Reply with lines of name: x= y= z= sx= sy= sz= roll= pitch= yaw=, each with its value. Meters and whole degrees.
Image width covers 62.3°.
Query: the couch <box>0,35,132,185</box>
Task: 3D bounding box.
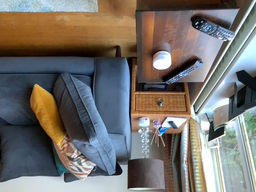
couch: x=-1.530 y=0.180 z=1.780 sx=3.090 sy=0.880 sz=1.020 roll=1 pitch=153 yaw=2
